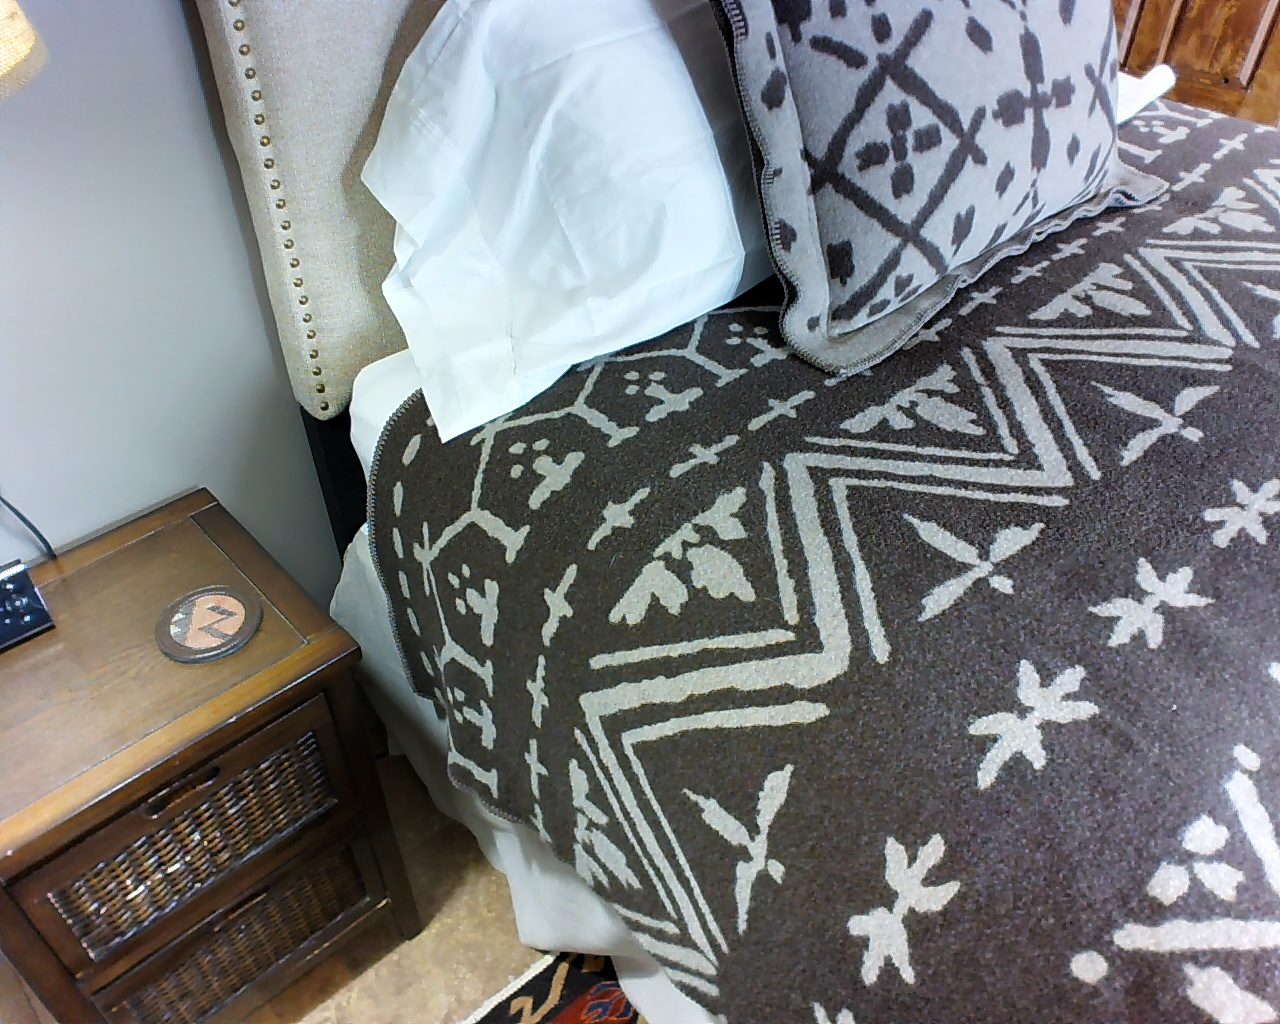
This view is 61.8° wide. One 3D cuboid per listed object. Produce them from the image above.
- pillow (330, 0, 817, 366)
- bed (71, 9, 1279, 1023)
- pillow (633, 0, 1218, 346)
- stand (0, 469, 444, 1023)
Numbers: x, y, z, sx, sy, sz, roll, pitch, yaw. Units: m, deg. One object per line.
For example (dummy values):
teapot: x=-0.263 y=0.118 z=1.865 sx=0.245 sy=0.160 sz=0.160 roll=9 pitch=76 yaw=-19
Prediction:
pillow: x=-0.090 y=-0.360 z=1.140 sx=0.400 sy=0.410 sz=0.120 roll=-21 pitch=75 yaw=-30
bed: x=0.900 y=0.300 z=1.250 sx=1.880 sy=0.830 sz=2.370 roll=-32 pitch=50 yaw=-32
pillow: x=0.420 y=-0.570 z=1.300 sx=0.790 sy=0.510 sz=0.200 roll=-32 pitch=78 yaw=-32
stand: x=-0.570 y=0.360 z=1.280 sx=0.460 sy=0.580 sz=0.380 roll=-32 pitch=50 yaw=-32
